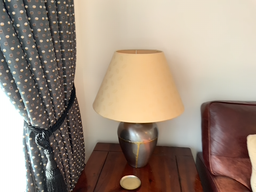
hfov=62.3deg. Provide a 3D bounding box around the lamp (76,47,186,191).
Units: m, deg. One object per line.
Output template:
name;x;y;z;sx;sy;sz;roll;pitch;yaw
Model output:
lamp;0.030;0.070;1.100;0.410;0.600;0.480;1;17;5
